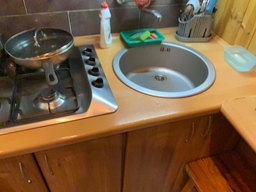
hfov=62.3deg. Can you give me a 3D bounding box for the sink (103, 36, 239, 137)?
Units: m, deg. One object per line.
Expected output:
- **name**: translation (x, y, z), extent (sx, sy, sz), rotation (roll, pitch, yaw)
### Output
- **sink**: translation (0.150, -0.080, 0.970), extent (0.440, 0.170, 0.430), rotation (-10, 43, -14)

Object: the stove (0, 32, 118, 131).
- **stove**: translation (-0.380, -0.090, 0.810), extent (0.570, 0.030, 0.530), rotation (-10, 43, -14)
